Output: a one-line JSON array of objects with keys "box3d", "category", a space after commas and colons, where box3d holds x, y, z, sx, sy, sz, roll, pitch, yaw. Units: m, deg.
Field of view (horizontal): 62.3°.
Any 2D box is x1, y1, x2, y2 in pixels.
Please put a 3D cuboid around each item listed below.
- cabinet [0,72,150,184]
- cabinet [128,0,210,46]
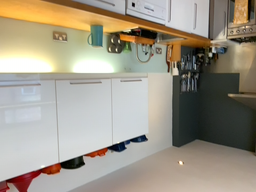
[{"box3d": [-0.500, 0.150, 2.080, 0.380, 0.760, 1.830, 6, -171, 43], "category": "cabinet"}, {"box3d": [0.600, -1.240, 2.920, 0.610, 0.920, 1.100, 6, -171, 43], "category": "cabinet"}]
